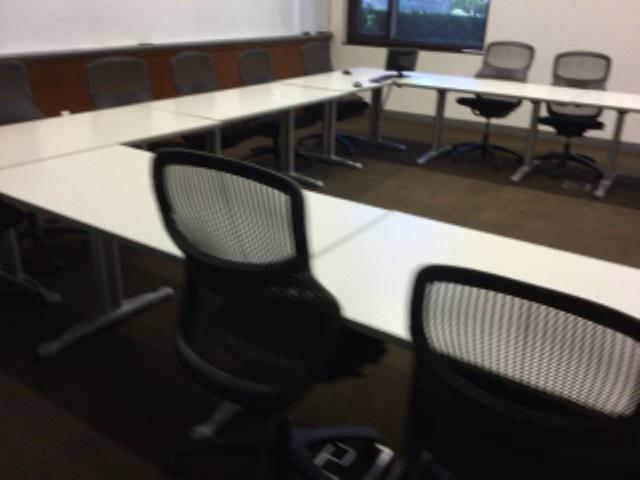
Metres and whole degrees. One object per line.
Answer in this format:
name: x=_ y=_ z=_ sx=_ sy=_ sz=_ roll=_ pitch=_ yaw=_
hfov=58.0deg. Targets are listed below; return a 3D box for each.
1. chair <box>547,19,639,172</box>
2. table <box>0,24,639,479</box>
chair: x=2.260 y=-1.180 z=4.610 sx=0.660 sy=1.020 sz=0.740 roll=9 pitch=29 yaw=22
table: x=1.060 y=-0.330 z=3.120 sx=4.920 sy=0.950 sz=4.620 roll=15 pitch=31 yaw=31
